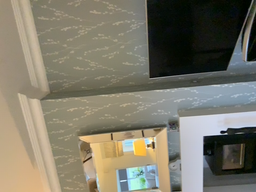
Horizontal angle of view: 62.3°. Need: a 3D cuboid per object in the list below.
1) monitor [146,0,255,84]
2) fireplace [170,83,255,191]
[{"bbox_3d":[0.540,-0.550,1.520,1.280,0.800,0.090,81,-174,-54],"label":"monitor"},{"bbox_3d":[1.050,0.670,2.220,0.800,1.030,1.390,-84,-11,-72],"label":"fireplace"}]
